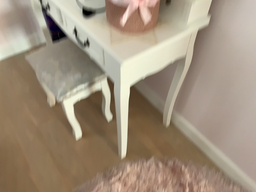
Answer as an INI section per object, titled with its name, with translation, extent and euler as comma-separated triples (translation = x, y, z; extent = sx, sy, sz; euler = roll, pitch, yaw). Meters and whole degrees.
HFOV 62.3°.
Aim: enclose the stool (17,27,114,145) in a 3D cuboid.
[stool]
translation = -0.330, -0.050, 1.240
extent = 0.290, 0.480, 0.410
euler = -34, 59, -26
